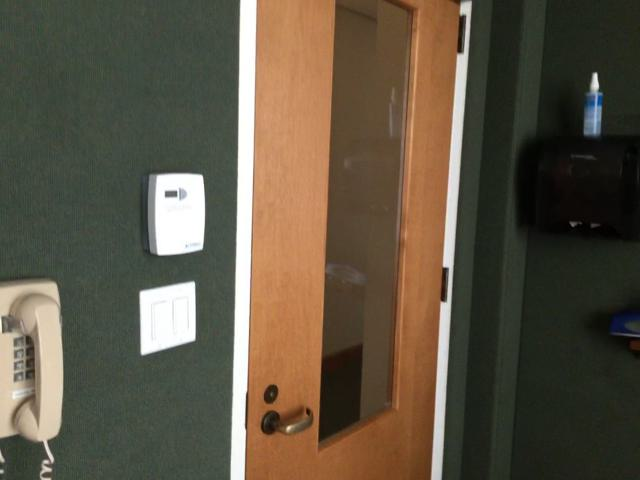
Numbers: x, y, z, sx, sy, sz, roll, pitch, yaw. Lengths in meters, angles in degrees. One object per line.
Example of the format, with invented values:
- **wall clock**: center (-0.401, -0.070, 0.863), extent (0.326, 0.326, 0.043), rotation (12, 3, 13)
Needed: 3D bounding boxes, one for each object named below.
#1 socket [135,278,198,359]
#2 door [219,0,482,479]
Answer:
- **socket**: center (-0.280, 0.140, 1.060), extent (0.020, 0.130, 0.120), rotation (6, 6, 40)
- **door**: center (0.140, 0.280, 1.620), extent (0.090, 2.260, 1.020), rotation (6, 6, 38)
